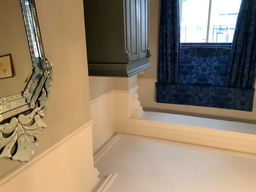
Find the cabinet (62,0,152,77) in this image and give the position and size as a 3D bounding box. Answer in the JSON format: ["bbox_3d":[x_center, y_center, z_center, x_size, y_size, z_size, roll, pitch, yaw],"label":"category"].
[{"bbox_3d":[-0.180,-1.280,2.320,0.670,1.980,0.910,4,-164,20],"label":"cabinet"}]
